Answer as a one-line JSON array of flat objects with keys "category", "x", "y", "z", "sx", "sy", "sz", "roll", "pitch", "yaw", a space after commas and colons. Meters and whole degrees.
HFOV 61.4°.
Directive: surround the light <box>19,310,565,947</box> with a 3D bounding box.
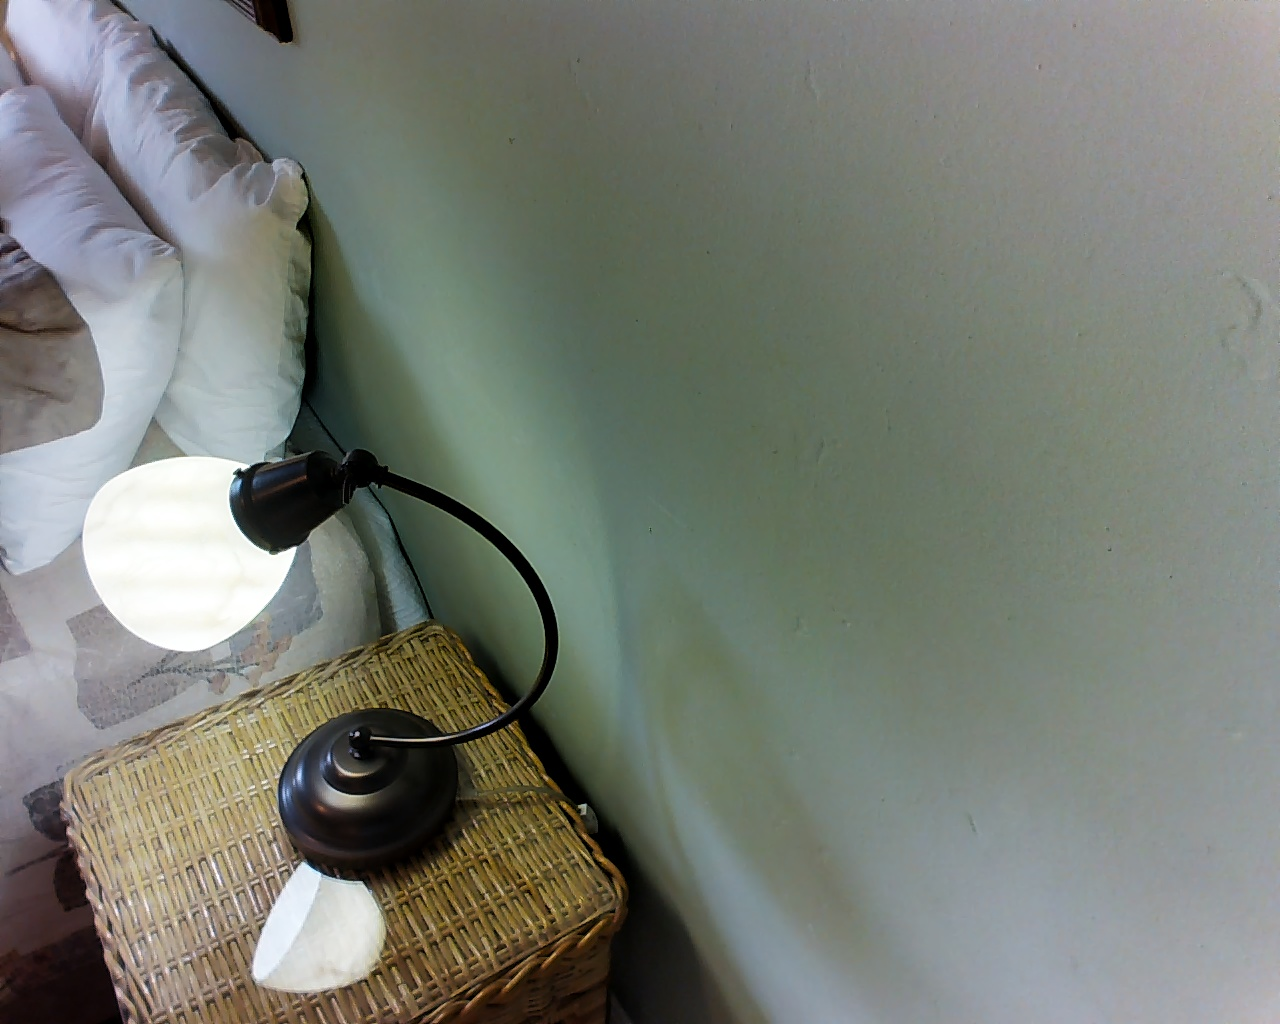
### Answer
[{"category": "light", "x": -0.280, "y": 0.110, "z": 0.970, "sx": 0.330, "sy": 0.450, "sz": 0.230, "roll": -21, "pitch": 45, "yaw": -21}]
